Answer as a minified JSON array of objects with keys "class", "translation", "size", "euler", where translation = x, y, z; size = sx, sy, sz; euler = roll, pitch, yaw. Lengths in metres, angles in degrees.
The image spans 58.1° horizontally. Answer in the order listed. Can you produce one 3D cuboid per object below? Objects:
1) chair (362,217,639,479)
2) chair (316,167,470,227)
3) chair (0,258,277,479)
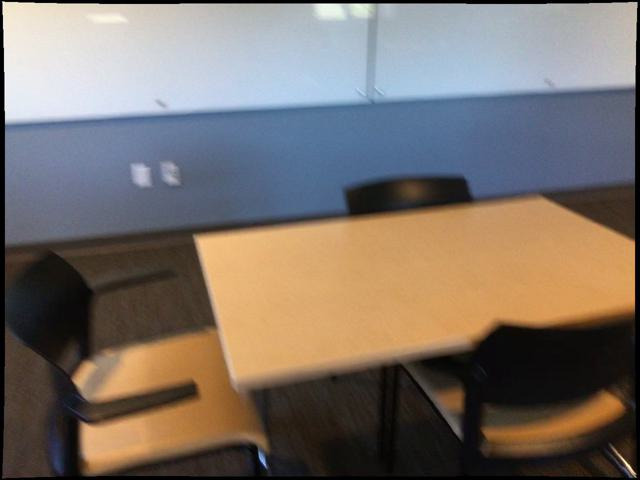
[{"class":"chair","translation":[0.499,0.251,1.470],"size":[0.648,0.391,0.520],"euler":[-8,23,-12]},{"class":"chair","translation":[0.259,-0.160,2.070],"size":[0.509,0.100,0.190],"euler":[-8,23,-13]},{"class":"chair","translation":[-0.429,0.351,1.450],"size":[0.529,0.331,0.590],"euler":[-8,23,-12]}]
